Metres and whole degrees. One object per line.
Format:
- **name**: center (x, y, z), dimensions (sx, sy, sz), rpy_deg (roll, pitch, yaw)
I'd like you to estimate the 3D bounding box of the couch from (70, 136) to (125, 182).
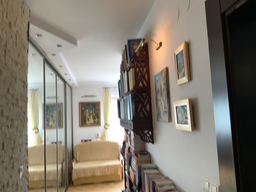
- **couch**: center (-0.830, 1.660, 5.850), dimensions (1.350, 0.920, 1.090), rpy_deg (-2, -4, -8)
